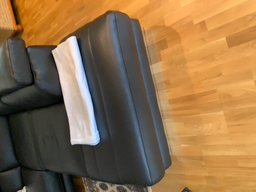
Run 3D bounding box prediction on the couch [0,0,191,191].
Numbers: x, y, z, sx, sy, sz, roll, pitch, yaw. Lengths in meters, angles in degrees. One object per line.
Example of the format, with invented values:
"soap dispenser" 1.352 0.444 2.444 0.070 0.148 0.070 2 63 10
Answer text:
"couch" -0.410 0.100 1.590 1.300 0.810 1.000 -11 92 42
